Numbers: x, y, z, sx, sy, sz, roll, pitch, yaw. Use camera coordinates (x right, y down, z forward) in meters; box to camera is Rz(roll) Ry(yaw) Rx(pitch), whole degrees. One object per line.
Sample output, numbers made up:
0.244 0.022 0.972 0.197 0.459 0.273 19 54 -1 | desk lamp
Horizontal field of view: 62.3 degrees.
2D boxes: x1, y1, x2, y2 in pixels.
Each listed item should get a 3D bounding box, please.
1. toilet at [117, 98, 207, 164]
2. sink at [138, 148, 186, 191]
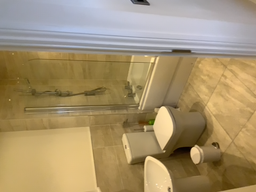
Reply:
0.360 0.400 2.510 0.400 0.830 0.630 -111 26 -46 | toilet
0.270 0.740 1.830 0.550 0.180 0.460 170 98 -72 | sink
